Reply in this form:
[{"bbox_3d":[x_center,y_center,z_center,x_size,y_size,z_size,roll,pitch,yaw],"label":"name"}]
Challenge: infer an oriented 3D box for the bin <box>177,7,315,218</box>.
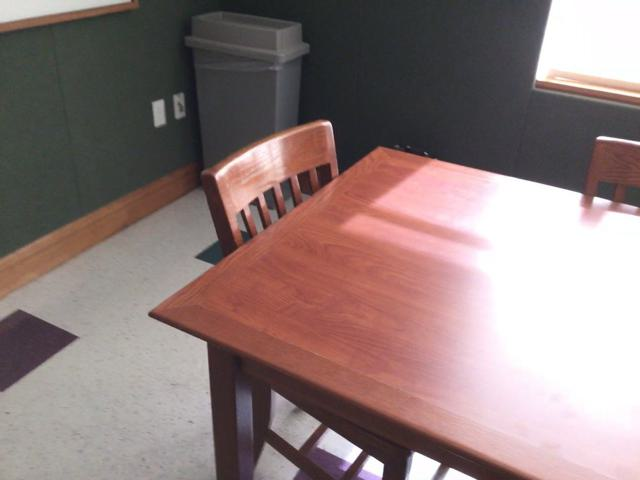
[{"bbox_3d":[-0.340,-0.610,2.760,0.520,0.860,0.310,16,32,23],"label":"bin"}]
